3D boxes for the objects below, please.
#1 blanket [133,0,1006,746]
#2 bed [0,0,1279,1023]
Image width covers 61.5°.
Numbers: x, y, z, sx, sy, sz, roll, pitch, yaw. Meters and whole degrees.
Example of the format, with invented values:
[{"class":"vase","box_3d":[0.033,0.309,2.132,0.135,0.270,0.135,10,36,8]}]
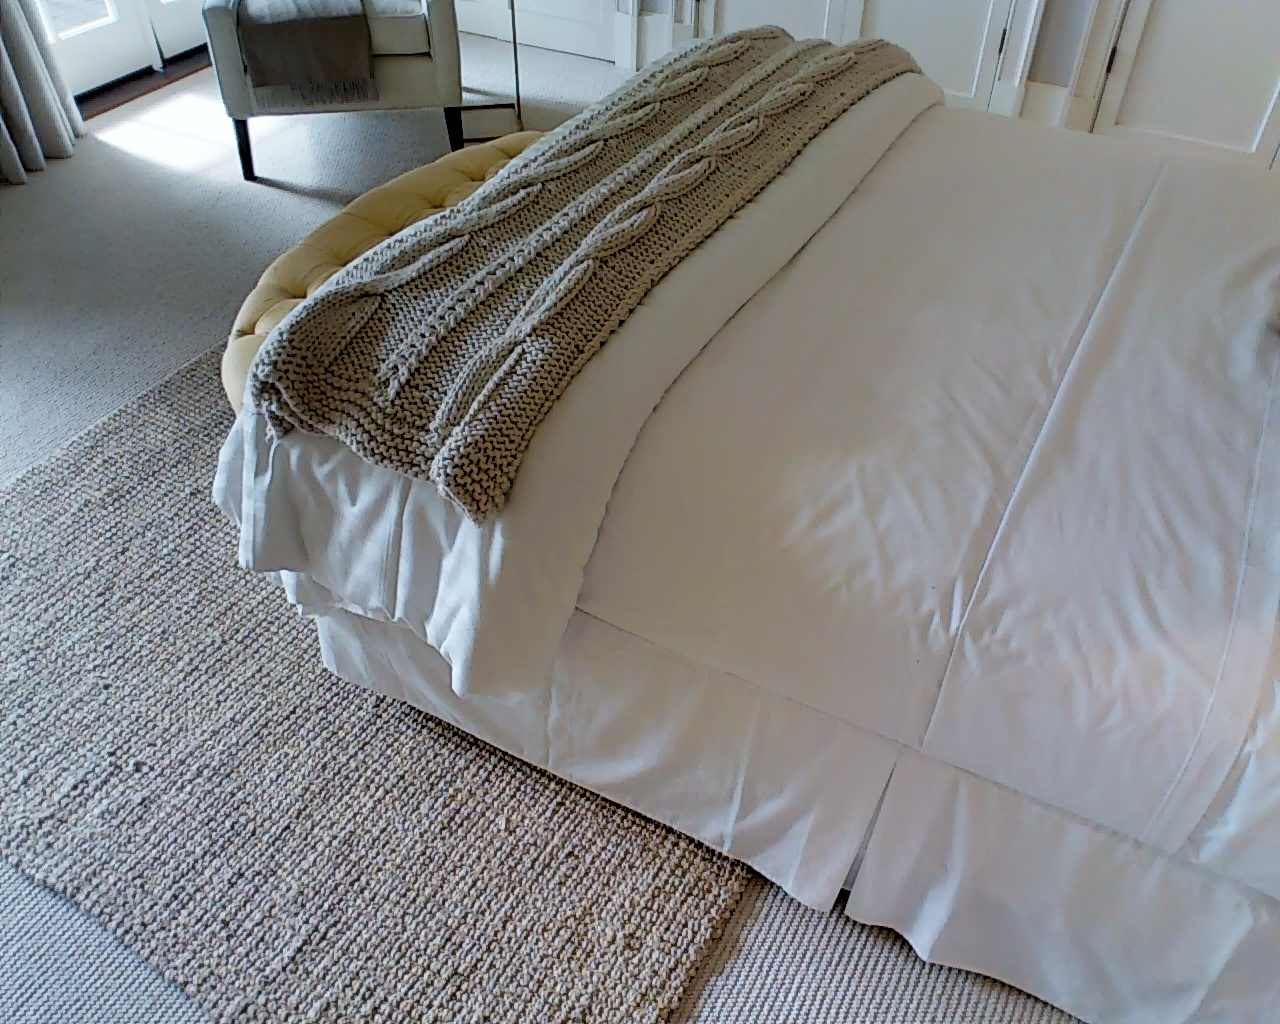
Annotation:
[{"class":"blanket","box_3d":[0.080,-0.520,2.070,0.620,0.510,1.910,21,46,21]},{"class":"bed","box_3d":[0.500,-0.250,1.980,2.640,0.860,1.980,21,46,20]}]
